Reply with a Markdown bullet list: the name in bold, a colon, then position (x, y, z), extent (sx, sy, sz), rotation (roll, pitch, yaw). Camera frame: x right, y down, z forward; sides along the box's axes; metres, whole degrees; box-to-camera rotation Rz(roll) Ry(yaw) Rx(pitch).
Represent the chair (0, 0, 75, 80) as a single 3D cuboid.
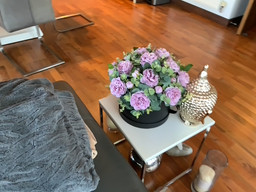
- **chair**: position (-0.860, -0.750, 1.770), extent (0.470, 0.990, 0.560), rotation (-31, 52, -33)
